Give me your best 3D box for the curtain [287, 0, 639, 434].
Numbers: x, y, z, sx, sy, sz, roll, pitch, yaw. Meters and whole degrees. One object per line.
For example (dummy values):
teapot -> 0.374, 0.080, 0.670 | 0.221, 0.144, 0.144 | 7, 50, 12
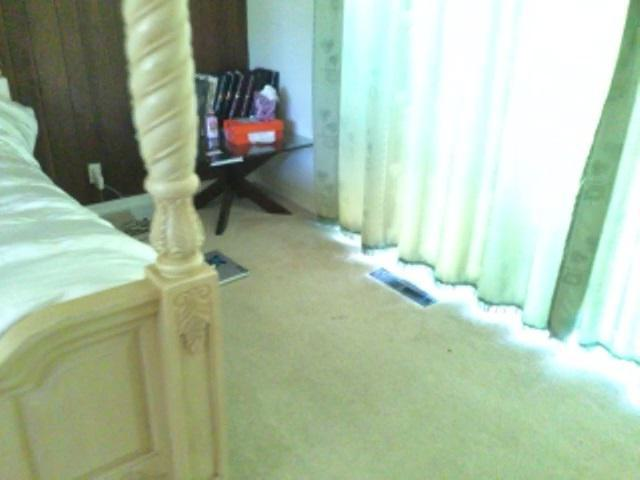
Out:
curtain -> 0.770, -0.240, 2.020 | 0.270, 1.380, 2.720 | -16, 29, -34
